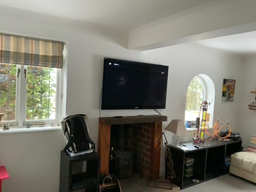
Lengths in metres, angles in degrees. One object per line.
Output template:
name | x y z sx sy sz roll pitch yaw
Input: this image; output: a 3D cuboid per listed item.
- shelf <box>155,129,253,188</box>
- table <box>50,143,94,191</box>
shelf | 1.640 1.140 4.310 2.370 0.650 0.570 1 4 -35
table | -0.740 1.070 2.760 0.420 0.760 0.460 1 4 -32
